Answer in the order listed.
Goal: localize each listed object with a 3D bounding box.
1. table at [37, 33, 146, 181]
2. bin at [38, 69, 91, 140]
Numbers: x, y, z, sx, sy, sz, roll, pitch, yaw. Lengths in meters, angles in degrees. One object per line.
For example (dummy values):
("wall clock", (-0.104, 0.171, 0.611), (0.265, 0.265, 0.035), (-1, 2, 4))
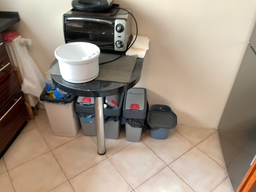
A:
("table", (-0.170, 0.060, 1.480), (0.490, 0.770, 0.610), (6, 36, 5))
("bin", (-0.490, 0.070, 1.740), (0.270, 0.480, 0.290), (5, 36, 4))
